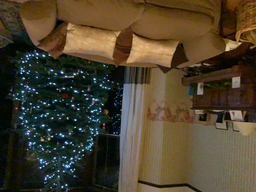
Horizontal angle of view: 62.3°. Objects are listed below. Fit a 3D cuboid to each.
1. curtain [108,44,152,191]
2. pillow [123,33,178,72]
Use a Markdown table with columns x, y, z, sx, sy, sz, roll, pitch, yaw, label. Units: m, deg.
| x | y | z | sx | sy | sz | roll | pitch | yaw | label |
| --- | --- | --- | --- | --- | --- | --- | --- | --- | --- |
| 0.030 | 0.630 | 4.470 | 0.700 | 3.400 | 0.210 | 2 | 176 | 23 | curtain |
| 0.260 | -0.500 | 2.500 | 0.560 | 0.110 | 0.310 | 16 | 144 | -21 | pillow |
